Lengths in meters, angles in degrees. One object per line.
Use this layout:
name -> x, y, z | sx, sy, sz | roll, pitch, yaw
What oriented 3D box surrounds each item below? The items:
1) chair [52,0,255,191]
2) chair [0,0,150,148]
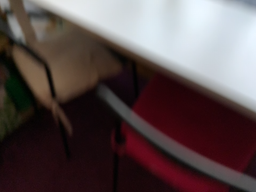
chair -> 0.190, 0.140, 0.760 | 0.440, 0.820, 0.500 | 35, 61, 24
chair -> -0.260, -0.220, 1.090 | 0.510, 0.760, 0.490 | -35, 60, -23
